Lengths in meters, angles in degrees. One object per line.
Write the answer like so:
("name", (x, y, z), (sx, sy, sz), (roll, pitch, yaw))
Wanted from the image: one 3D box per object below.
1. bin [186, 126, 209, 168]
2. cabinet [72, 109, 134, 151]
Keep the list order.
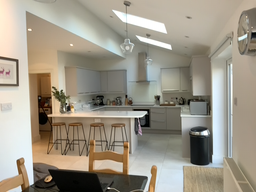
("bin", (1.390, 1.010, 4.270), (0.410, 0.730, 0.380), (0, 3, 16))
("cabinet", (-0.630, 0.830, 5.380), (1.440, 0.900, 0.550), (0, 3, 15))
